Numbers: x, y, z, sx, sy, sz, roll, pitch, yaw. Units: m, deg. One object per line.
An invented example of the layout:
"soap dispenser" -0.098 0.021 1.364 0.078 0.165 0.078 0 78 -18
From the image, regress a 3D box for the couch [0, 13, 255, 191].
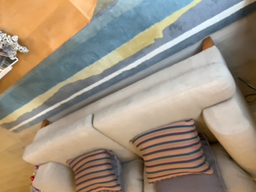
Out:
"couch" -0.020 0.410 1.720 1.840 0.780 0.980 -25 132 30
